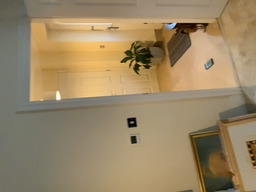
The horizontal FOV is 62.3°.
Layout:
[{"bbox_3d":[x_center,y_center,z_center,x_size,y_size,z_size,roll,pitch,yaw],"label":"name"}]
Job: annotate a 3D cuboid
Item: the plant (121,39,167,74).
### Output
[{"bbox_3d":[0.290,-0.720,3.910,0.290,0.760,0.560,-177,83,-78],"label":"plant"}]
